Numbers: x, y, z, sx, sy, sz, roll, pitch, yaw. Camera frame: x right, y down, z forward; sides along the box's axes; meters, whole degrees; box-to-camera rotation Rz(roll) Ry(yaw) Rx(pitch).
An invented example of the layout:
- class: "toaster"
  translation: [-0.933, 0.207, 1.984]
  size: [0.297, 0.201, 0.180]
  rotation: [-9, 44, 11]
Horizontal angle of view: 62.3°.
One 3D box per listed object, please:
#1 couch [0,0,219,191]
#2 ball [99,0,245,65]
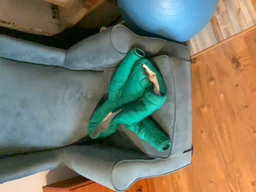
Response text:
- class: "couch"
  translation: [-0.180, 0.050, 1.200]
  size: [0.950, 1.010, 0.770]
  rotation: [3, 91, 44]
- class: "ball"
  translation: [0.210, -0.530, 1.150]
  size: [0.550, 0.490, 0.530]
  rotation: [-15, 78, 43]
